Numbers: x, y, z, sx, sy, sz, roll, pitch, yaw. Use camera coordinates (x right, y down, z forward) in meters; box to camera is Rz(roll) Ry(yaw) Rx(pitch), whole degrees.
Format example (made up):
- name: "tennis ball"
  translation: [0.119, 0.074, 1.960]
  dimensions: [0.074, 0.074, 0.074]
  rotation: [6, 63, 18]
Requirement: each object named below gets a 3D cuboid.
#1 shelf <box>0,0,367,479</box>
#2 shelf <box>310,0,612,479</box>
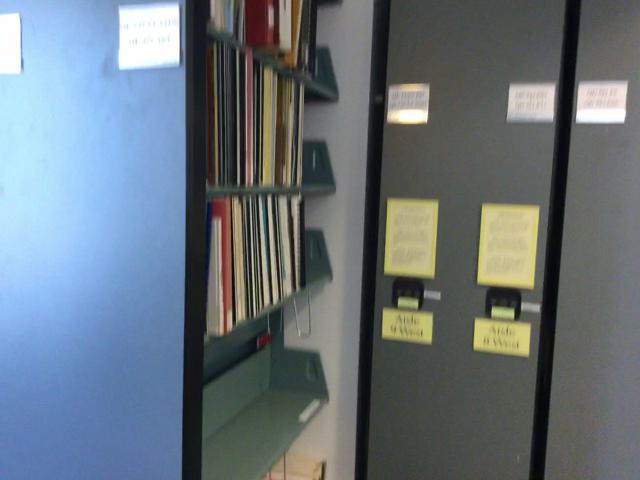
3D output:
- name: "shelf"
  translation: [-0.370, 0.110, 1.610]
  dimensions: [0.760, 2.500, 1.060]
  rotation: [-1, 2, 16]
- name: "shelf"
  translation: [0.480, 0.050, 1.970]
  dimensions: [0.720, 2.540, 0.540]
  rotation: [-6, 1, 16]
